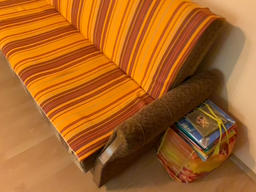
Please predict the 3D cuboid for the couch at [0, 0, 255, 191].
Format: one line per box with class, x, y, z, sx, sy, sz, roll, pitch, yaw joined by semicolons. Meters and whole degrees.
couch;-0.460;-0.550;1.590;1.010;0.940;2.180;-29;60;-30
